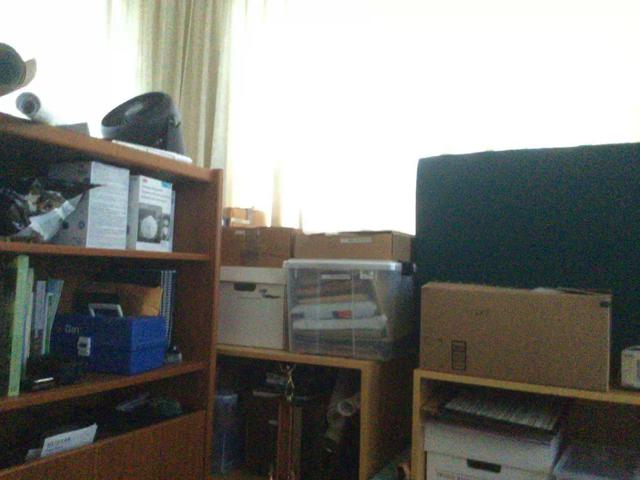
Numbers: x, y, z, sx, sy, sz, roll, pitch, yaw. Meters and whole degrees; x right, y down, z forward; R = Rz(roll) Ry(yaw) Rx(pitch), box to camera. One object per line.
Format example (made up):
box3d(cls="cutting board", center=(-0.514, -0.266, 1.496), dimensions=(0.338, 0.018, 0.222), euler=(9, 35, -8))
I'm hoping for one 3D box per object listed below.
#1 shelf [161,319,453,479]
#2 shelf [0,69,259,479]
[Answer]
box3d(cls="shelf", center=(-0.020, 0.760, 1.920), dimensions=(0.780, 0.910, 0.600), euler=(0, -4, 26))
box3d(cls="shelf", center=(-0.660, 0.650, 1.460), dimensions=(0.550, 1.860, 0.930), euler=(0, -4, 26))
